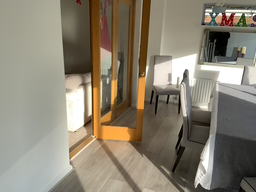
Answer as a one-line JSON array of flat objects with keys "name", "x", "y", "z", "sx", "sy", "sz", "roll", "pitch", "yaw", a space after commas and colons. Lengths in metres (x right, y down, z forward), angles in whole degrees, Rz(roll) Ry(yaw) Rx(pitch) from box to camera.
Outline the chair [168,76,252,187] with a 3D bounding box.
[{"name": "chair", "x": 0.840, "y": 0.360, "z": 2.340, "sx": 0.640, "sy": 1.020, "sz": 0.450, "roll": 8, "pitch": 19, "yaw": 15}]

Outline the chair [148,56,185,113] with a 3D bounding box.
[{"name": "chair", "x": 0.730, "y": -0.240, "z": 4.200, "sx": 0.460, "sy": 0.990, "sz": 0.620, "roll": 0, "pitch": 18, "yaw": -8}]
